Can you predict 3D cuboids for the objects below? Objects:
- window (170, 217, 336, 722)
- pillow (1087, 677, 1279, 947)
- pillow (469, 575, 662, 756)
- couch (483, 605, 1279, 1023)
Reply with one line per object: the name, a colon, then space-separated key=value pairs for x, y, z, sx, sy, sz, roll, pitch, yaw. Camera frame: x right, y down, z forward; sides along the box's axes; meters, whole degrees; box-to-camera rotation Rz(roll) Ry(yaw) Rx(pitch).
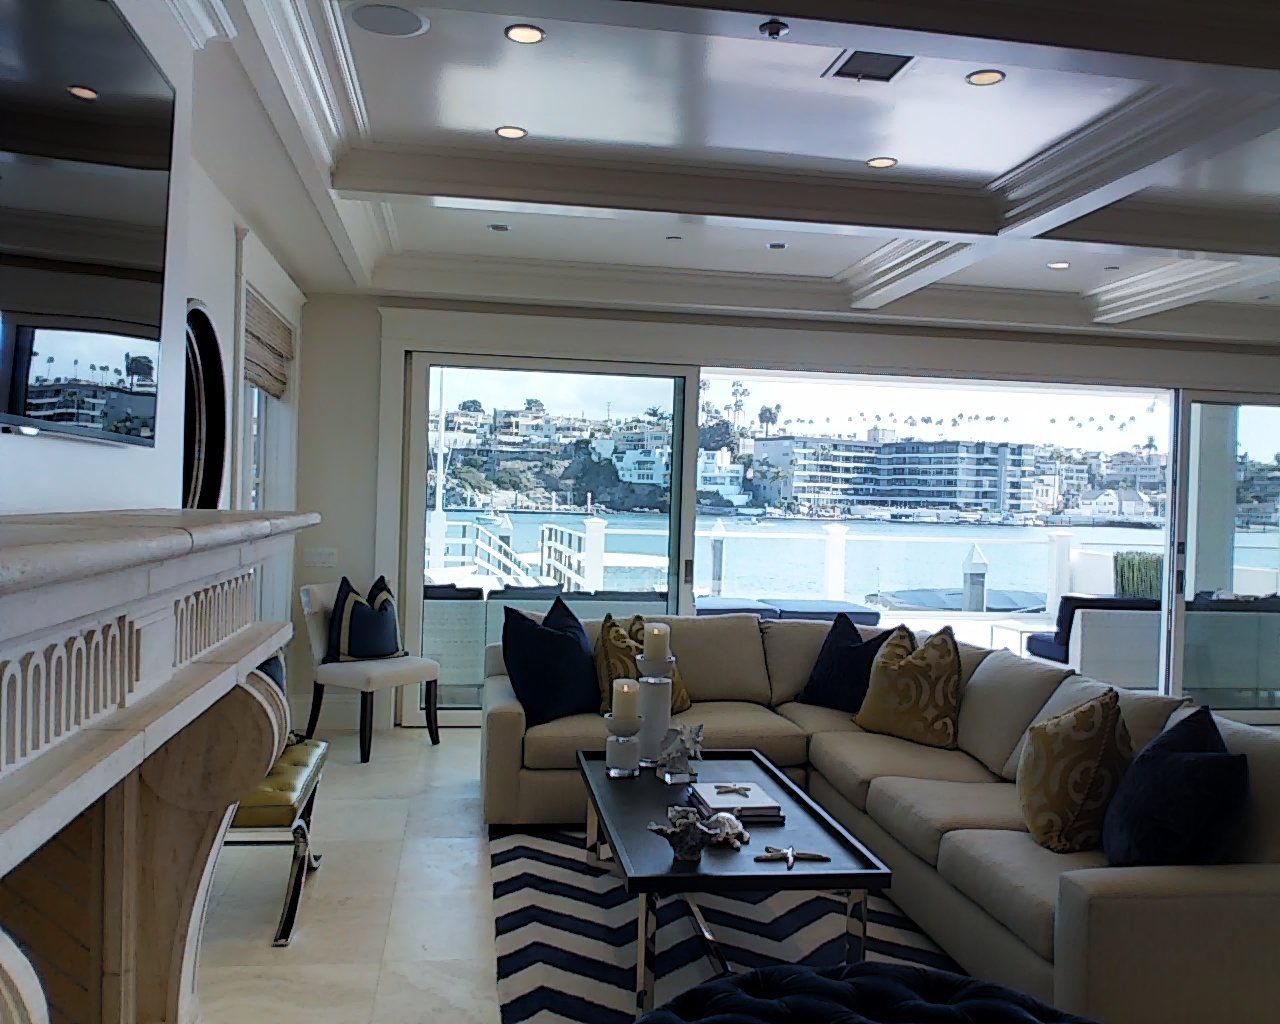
window: x=-1.949 y=-0.190 z=5.600 sx=0.380 sy=2.181 sz=1.910 roll=2 pitch=1 yaw=-8
pillow: x=1.599 y=0.820 z=3.050 sx=0.360 sy=0.530 sz=0.570 roll=-26 pitch=-8 yaw=15
pillow: x=-0.340 y=0.720 z=5.110 sx=0.460 sy=0.590 sz=0.670 roll=-18 pitch=4 yaw=33
couch: x=0.740 y=1.030 z=4.230 sx=2.659 sy=0.950 sz=3.390 roll=2 pitch=1 yaw=-8
